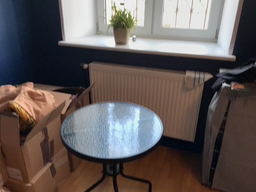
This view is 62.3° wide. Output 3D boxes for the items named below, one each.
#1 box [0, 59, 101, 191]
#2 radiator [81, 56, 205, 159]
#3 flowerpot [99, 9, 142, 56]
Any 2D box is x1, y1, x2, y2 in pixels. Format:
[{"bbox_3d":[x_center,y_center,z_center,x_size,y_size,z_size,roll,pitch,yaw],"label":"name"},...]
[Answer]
[{"bbox_3d":[-0.820,0.240,1.790,0.780,0.790,1.020,9,26,17],"label":"box"},{"bbox_3d":[0.100,0.100,1.980,1.050,0.830,0.150,8,26,16],"label":"radiator"},{"bbox_3d":[-0.070,-0.620,2.040,0.320,0.380,0.250,11,26,21],"label":"flowerpot"}]
